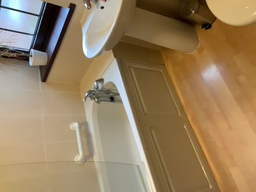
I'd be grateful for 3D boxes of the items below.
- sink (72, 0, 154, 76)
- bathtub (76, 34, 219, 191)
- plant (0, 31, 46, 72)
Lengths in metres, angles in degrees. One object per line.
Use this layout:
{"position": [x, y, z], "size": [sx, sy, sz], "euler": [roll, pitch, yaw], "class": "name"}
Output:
{"position": [-0.140, -0.470, 1.300], "size": [0.570, 0.170, 0.430], "euler": [-44, 52, 44], "class": "sink"}
{"position": [0.110, 0.470, 1.700], "size": [0.670, 0.570, 1.840], "euler": [-45, 52, 42], "class": "bathtub"}
{"position": [-0.990, -0.370, 1.740], "size": [0.240, 0.530, 0.170], "euler": [-48, 50, 41], "class": "plant"}
